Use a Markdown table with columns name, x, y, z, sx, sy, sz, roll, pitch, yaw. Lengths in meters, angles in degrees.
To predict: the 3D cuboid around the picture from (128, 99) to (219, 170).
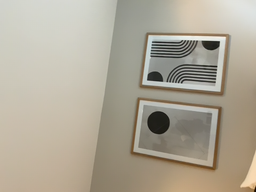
| name | x | y | z | sx | sy | sz | roll | pitch | yaw |
| --- | --- | --- | --- | --- | --- | --- | --- | --- | --- |
| picture | 0.390 | 0.320 | 1.890 | 0.040 | 0.730 | 0.510 | 27 | -109 | -72 |

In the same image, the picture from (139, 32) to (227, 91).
| name | x | y | z | sx | sy | sz | roll | pitch | yaw |
| --- | --- | --- | --- | --- | --- | --- | --- | --- | --- |
| picture | 0.490 | -0.330 | 1.940 | 0.060 | 0.720 | 0.490 | 27 | -109 | -72 |
